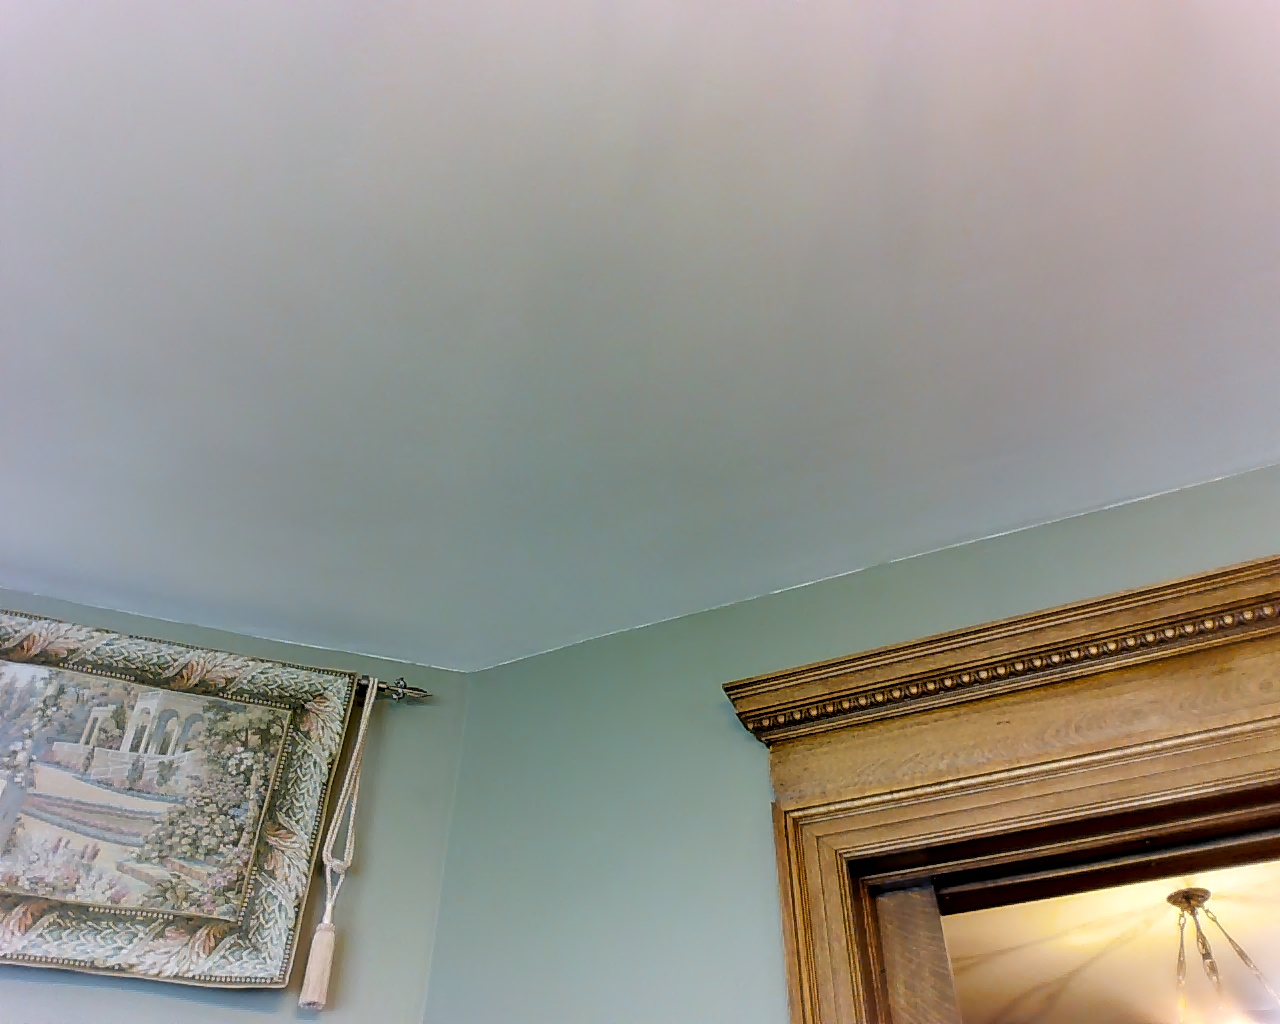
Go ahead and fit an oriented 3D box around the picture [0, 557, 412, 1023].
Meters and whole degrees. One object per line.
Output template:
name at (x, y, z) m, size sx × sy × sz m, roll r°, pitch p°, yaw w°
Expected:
picture at (-1.260, 0.510, 2.140) m, size 1.470 × 0.860 × 0.170 m, roll 15°, pitch -45°, yaw -16°
